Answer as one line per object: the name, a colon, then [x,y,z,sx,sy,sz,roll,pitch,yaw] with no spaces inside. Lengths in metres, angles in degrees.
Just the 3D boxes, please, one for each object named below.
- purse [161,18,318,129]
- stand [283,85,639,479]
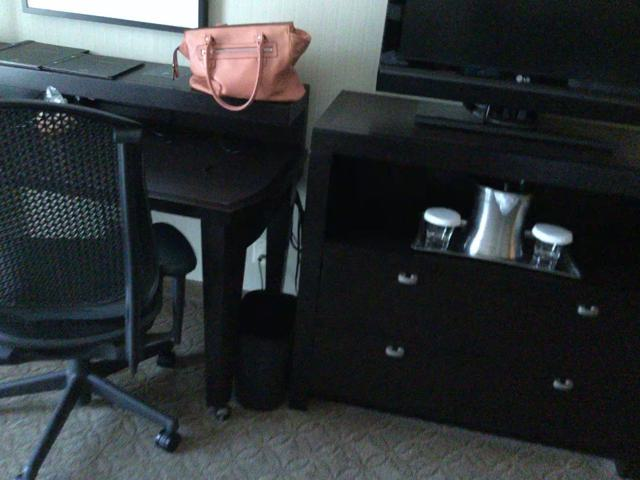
purse: [-0.230,-0.520,1.770,0.390,0.270,0.280,7,24,11]
stand: [0.520,0.100,1.850,1.160,1.010,0.570,7,24,11]
